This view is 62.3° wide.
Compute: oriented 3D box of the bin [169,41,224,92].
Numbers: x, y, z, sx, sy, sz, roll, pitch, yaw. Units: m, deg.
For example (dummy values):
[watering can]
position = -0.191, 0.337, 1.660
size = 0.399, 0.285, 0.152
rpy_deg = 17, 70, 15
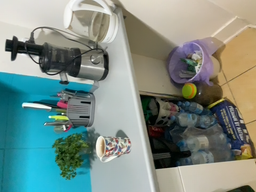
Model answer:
[bin]
position = 0.480, -0.200, 1.510
size = 0.230, 0.230, 0.240
rpy_deg = -37, 54, 49

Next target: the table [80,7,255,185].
[table]
position = 0.220, 0.050, 1.300
size = 0.490, 0.840, 0.770
rpy_deg = -40, 52, 47
